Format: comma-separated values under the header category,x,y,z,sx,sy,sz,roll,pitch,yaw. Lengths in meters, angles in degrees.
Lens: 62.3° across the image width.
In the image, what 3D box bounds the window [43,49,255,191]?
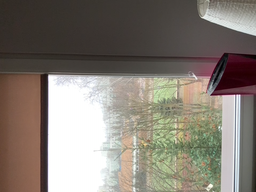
category,x,y,z,sx,sy,sz,roll,pitch,yaw
window,0.140,0.210,1.130,0.100,1.110,0.860,-179,90,-84
